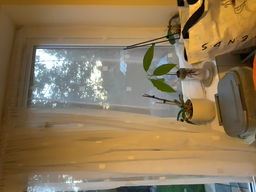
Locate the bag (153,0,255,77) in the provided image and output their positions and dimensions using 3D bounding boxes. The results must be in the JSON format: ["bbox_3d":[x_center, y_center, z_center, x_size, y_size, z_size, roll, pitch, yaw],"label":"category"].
[{"bbox_3d":[0.350,-0.350,0.820,0.360,0.430,0.440,100,169,-72],"label":"bag"}]
